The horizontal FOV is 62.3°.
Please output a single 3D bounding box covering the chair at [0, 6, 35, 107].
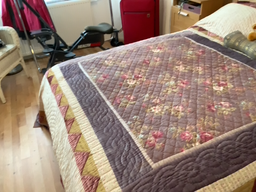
[{"bbox_3d":[-1.600,-0.430,2.280,0.650,0.830,0.690,1,36,7],"label":"chair"}]
